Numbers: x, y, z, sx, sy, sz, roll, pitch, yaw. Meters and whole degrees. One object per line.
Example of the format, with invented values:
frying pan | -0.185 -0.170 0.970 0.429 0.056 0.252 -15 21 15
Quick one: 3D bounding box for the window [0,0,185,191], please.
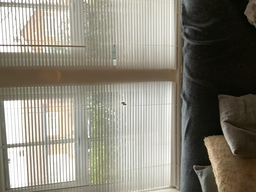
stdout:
window | -0.320 -0.120 1.580 0.080 1.600 1.960 -161 69 -75
